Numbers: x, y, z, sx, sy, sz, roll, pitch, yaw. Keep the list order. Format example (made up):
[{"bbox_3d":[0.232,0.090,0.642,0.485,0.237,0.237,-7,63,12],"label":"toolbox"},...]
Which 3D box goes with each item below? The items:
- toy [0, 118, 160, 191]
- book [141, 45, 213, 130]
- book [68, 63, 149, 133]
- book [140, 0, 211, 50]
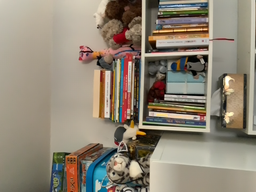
[{"bbox_3d":[-0.220,0.490,0.970,0.500,0.670,0.680,-5,-83,-77],"label":"toy"},{"bbox_3d":[0.230,-0.040,1.020,0.220,0.290,0.350,0,-88,-77],"label":"book"},{"bbox_3d":[-0.090,0.000,1.070,0.190,0.360,0.310,-15,-74,-76],"label":"book"},{"bbox_3d":[0.220,-0.400,1.000,0.230,0.290,0.330,-22,-67,-76],"label":"book"}]
